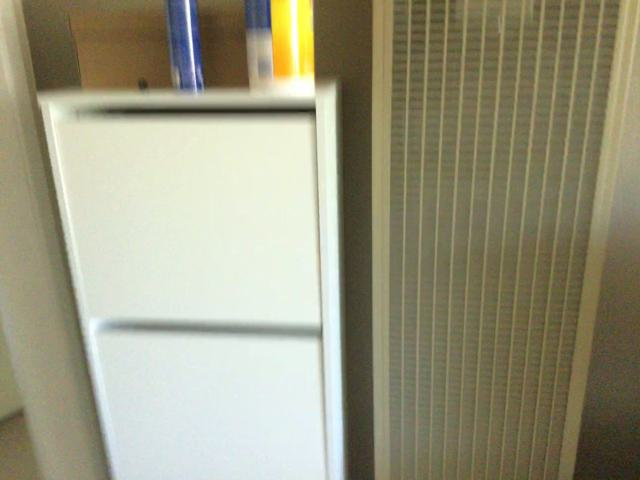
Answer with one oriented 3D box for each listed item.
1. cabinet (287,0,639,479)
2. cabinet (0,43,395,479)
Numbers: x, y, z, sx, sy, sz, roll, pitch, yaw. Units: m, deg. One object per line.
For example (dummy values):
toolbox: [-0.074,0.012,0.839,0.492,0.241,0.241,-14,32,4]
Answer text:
cabinet: [0.320,0.120,1.160,0.570,1.660,0.180,-4,19,12]
cabinet: [-0.200,0.310,1.260,0.640,1.320,0.280,-4,19,12]
